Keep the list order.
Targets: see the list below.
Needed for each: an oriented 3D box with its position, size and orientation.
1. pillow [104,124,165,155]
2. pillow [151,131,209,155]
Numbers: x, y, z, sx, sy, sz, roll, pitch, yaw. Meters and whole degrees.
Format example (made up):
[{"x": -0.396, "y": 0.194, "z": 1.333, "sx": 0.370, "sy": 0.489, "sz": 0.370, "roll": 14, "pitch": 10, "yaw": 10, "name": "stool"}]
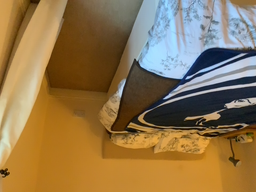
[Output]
[{"x": 0.060, "y": 0.520, "z": 2.450, "sx": 0.600, "sy": 0.430, "sz": 0.150, "roll": 7, "pitch": -126, "yaw": -13, "name": "pillow"}, {"x": 0.650, "y": 0.600, "z": 2.660, "sx": 0.640, "sy": 0.340, "sz": 0.070, "roll": 6, "pitch": -144, "yaw": -14, "name": "pillow"}]
